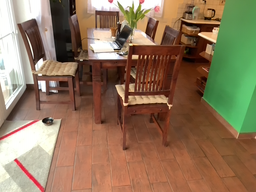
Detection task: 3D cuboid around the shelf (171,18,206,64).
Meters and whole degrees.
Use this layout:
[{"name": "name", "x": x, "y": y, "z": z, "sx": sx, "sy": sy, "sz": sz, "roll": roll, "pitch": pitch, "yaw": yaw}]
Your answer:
[{"name": "shelf", "x": 1.290, "y": -1.210, "z": 4.640, "sx": 0.380, "sy": 0.860, "sz": 0.570, "roll": -1, "pitch": 27, "yaw": -9}]

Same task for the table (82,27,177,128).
[{"name": "table", "x": -0.150, "y": -0.410, "z": 2.930, "sx": 0.920, "sy": 0.770, "sz": 1.740, "roll": -2, "pitch": 27, "yaw": -11}]

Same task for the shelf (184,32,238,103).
[{"name": "shelf", "x": 1.130, "y": -0.410, "z": 3.020, "sx": 0.310, "sy": 0.860, "sz": 0.560, "roll": -1, "pitch": 27, "yaw": -11}]
